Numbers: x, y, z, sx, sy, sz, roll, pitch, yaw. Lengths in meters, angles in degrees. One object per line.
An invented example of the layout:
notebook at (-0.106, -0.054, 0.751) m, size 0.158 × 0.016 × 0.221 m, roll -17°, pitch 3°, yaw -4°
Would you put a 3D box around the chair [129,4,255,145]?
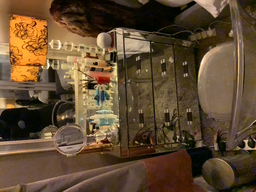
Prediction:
chair at (0.460, -0.050, 0.970) m, size 0.400 × 0.810 × 0.400 m, roll 0°, pitch 88°, yaw 61°
